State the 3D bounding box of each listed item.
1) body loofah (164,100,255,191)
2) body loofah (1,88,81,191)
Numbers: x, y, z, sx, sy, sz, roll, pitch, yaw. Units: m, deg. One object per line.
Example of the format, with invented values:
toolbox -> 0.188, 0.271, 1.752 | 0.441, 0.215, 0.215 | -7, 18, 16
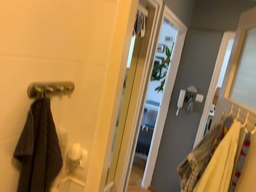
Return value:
body loofah -> 0.340, 0.590, 1.200 | 0.210, 1.040, 0.530 | 13, 11, 8
body loofah -> -0.360, 0.510, 0.800 | 0.100, 1.070, 0.220 | 15, 12, 17
